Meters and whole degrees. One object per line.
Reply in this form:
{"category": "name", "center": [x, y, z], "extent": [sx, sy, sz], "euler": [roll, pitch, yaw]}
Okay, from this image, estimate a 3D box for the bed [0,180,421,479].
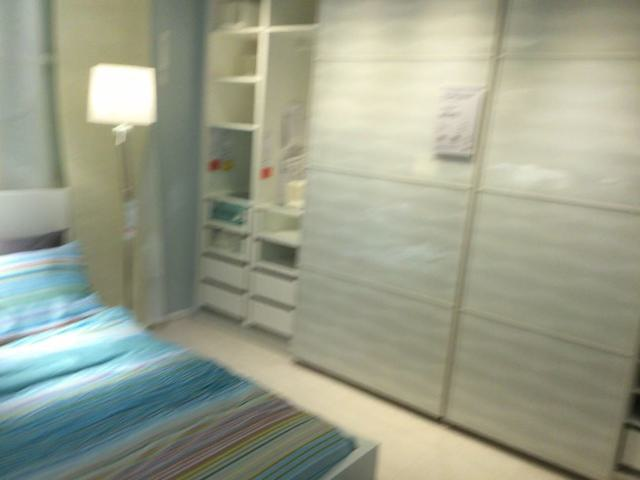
{"category": "bed", "center": [-1.110, 0.470, 2.000], "extent": [2.210, 1.050, 1.720], "euler": [13, 15, 40]}
